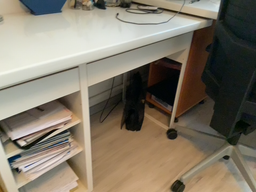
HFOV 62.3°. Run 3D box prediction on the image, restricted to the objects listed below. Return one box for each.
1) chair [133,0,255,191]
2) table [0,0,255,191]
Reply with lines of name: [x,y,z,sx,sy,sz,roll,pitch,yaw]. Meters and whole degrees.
chair: [0.580,-0.020,1.050,0.760,1.010,0.720,-20,40,-33]
table: [0.050,-0.150,1.350,1.790,0.830,0.610,-26,43,-38]
